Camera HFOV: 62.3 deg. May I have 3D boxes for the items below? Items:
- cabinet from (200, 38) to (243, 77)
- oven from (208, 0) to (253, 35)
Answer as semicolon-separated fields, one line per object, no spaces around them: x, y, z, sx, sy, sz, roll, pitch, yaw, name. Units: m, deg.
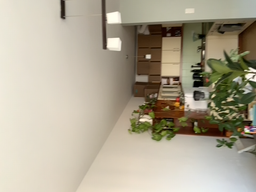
2.360;-0.960;5.440;0.590;0.860;0.910;-6;-82;-79;cabinet
2.140;-1.680;4.510;0.610;0.710;0.570;-9;-79;-79;oven
